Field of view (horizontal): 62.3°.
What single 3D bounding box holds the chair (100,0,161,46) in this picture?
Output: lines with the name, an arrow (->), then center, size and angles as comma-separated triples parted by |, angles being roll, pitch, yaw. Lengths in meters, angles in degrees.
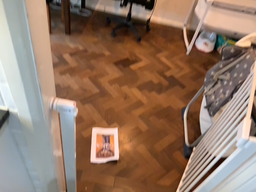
chair -> 0.080, -1.350, 2.700 | 0.690, 1.190, 0.490 | 12, 45, -2
